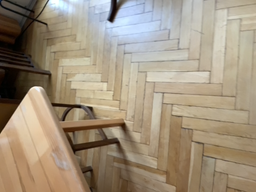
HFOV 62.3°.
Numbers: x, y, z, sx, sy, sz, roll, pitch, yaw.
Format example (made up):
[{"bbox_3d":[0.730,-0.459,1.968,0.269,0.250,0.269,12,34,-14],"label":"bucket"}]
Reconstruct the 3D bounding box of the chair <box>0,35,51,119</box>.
[{"bbox_3d":[-1.240,-0.190,1.880,0.580,0.730,0.540,46,112,28],"label":"chair"}]
